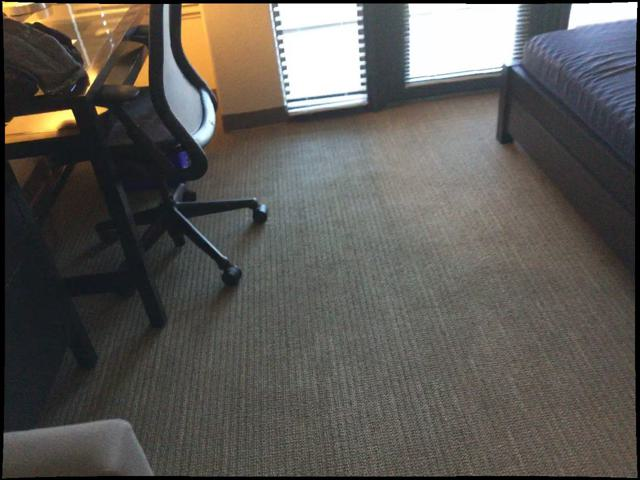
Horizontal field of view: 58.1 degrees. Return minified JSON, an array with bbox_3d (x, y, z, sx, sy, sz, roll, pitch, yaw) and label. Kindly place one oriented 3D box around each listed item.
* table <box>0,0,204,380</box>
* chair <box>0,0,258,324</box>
[{"bbox_3d":[-0.977,-0.351,2.170,0.808,0.841,1.481,-8,37,-1],"label":"table"},{"bbox_3d":[-0.638,-0.381,1.990,0.668,1.042,0.711,-8,37,-1],"label":"chair"}]
